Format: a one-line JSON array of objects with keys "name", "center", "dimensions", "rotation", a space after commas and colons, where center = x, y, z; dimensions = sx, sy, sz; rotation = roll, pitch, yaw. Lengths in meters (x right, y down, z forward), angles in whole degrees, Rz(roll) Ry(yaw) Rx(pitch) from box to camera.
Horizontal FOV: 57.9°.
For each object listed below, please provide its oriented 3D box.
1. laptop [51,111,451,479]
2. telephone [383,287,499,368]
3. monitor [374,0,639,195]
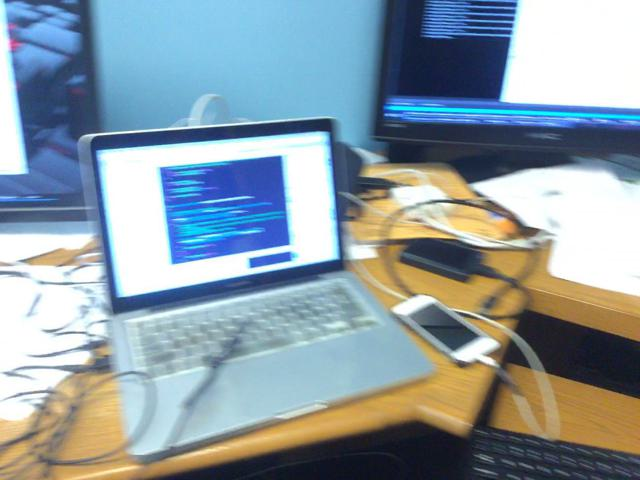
[{"name": "laptop", "center": [-0.090, 0.030, 0.670], "dimensions": [0.330, 0.260, 0.330], "rotation": [-8, 27, -15]}, {"name": "telephone", "center": [0.140, 0.100, 0.690], "dimensions": [0.060, 0.010, 0.140], "rotation": [-14, 30, -26]}, {"name": "monitor", "center": [0.420, -0.300, 1.000], "dimensions": [0.630, 0.420, 0.110], "rotation": [3, 27, 6]}]
